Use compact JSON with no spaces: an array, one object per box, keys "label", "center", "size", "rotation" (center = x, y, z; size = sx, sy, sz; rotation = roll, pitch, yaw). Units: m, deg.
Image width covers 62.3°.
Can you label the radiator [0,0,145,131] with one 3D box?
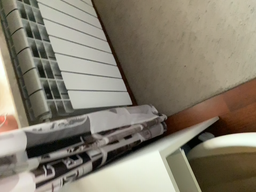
[{"label":"radiator","center":[-0.280,-0.350,1.010],"size":[0.100,0.670,0.950],"rotation":[-27,77,28]}]
